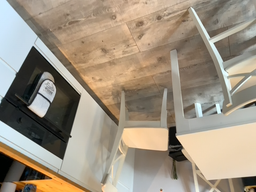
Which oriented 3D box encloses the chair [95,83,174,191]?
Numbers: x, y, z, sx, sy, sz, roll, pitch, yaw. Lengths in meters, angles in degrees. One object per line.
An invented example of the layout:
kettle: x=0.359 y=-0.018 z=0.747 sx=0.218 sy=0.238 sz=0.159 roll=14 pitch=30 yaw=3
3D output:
chair: x=0.090 y=0.370 z=1.920 sx=0.560 sy=0.910 sz=0.410 roll=-1 pitch=141 yaw=7

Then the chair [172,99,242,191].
chair: x=0.770 y=0.590 z=2.130 sx=0.470 sy=0.920 sz=0.540 roll=-11 pitch=139 yaw=19

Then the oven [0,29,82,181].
oven: x=-0.870 y=0.080 z=1.630 sx=0.630 sy=0.920 sz=0.570 roll=-12 pitch=139 yaw=20

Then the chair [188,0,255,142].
chair: x=0.620 y=-0.210 z=1.230 sx=0.330 sy=0.790 sz=0.400 roll=-18 pitch=136 yaw=26
